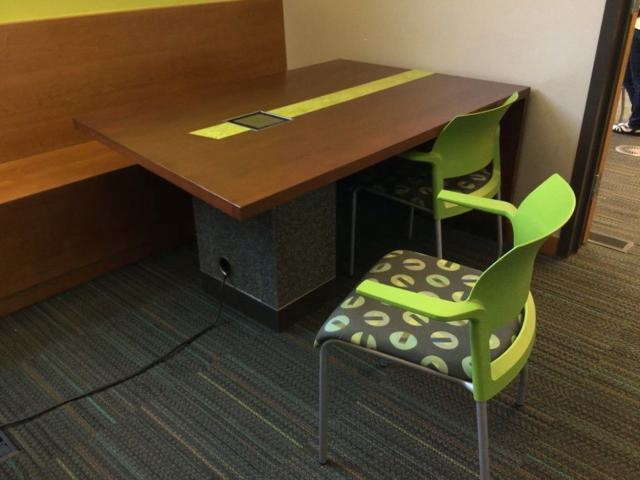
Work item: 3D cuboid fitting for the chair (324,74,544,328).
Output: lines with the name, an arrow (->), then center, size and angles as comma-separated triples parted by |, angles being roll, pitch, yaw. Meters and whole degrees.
chair -> 0.450, -0.210, 2.380 | 0.550, 0.780, 0.680 | 21, 32, 36

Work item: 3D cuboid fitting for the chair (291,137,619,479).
chair -> 0.350, 0.230, 1.540 | 0.600, 0.790, 0.720 | 10, 27, 19
